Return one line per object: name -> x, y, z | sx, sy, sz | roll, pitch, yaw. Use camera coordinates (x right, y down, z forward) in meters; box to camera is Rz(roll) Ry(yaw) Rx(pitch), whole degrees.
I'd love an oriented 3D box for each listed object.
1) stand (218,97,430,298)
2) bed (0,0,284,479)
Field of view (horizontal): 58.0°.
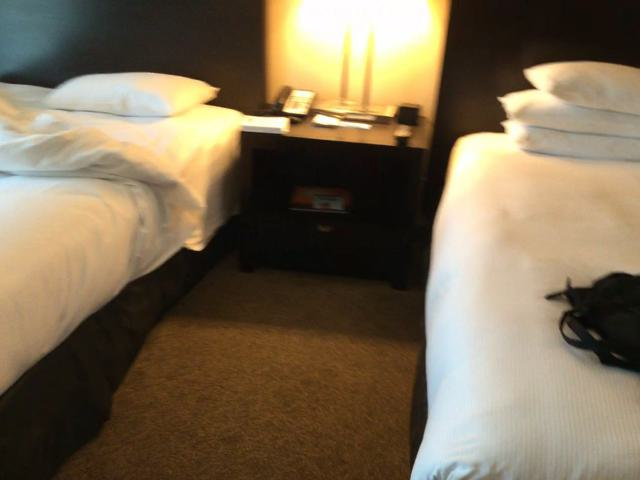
stand -> 0.050, -0.220, 2.580 | 0.810, 0.710, 0.550 | 4, 24, 10
bed -> -1.260, -0.340, 1.930 | 1.780, 1.540, 2.120 | 4, 24, 10
